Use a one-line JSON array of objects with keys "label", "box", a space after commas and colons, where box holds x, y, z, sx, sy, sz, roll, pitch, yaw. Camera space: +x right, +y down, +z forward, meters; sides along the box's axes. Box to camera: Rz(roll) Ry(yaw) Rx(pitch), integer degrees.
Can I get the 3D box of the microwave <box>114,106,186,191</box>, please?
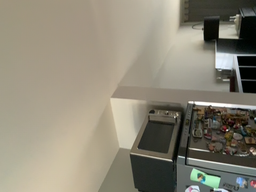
[{"label": "microwave", "box": [0.220, 0.510, 1.690, 0.560, 0.390, 0.630, -56, -35, -53]}]
